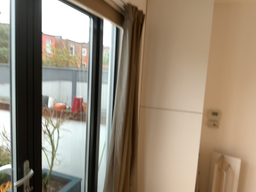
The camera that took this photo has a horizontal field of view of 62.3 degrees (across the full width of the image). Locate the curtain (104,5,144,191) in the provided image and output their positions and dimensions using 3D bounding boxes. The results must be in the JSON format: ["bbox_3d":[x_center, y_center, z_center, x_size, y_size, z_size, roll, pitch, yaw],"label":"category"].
[{"bbox_3d":[-0.040,0.340,1.930,0.170,2.110,0.450,5,8,13],"label":"curtain"}]
